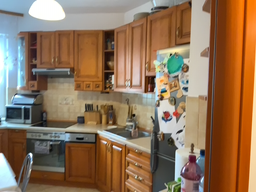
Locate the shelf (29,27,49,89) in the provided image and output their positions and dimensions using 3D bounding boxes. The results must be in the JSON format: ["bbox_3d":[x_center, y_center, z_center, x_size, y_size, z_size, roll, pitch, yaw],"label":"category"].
[{"bbox_3d":[-1.450,-0.600,3.460,0.150,0.950,0.320,2,3,8],"label":"shelf"}]

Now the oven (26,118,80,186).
[{"bbox_3d":[-1.150,0.840,3.350,0.590,0.860,0.590,2,3,8],"label":"oven"}]
